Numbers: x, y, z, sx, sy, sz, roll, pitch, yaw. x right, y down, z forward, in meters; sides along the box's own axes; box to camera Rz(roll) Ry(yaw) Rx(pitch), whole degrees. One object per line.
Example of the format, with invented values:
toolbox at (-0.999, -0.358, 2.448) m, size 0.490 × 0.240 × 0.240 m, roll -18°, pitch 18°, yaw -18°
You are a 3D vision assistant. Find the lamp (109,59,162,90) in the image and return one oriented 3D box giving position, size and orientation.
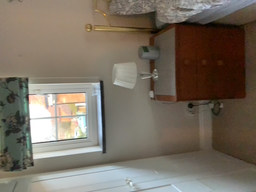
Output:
lamp at (0.060, -0.170, 1.740) m, size 0.180 × 0.390 × 0.230 m, roll -174°, pitch 82°, yaw -72°
